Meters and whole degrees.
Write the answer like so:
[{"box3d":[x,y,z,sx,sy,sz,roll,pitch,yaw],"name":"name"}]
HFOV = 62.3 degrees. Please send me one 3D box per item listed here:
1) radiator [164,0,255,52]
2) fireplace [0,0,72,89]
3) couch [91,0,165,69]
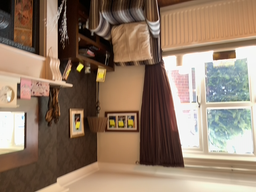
[{"box3d":[1.170,-0.990,2.600,1.420,0.680,0.200,-3,175,22],"name":"radiator"},{"box3d":[-1.070,-0.730,1.820,0.390,1.200,1.330,-3,175,23],"name":"fireplace"},{"box3d":[0.040,-0.860,2.720,0.720,0.820,0.840,-2,175,17],"name":"couch"}]
